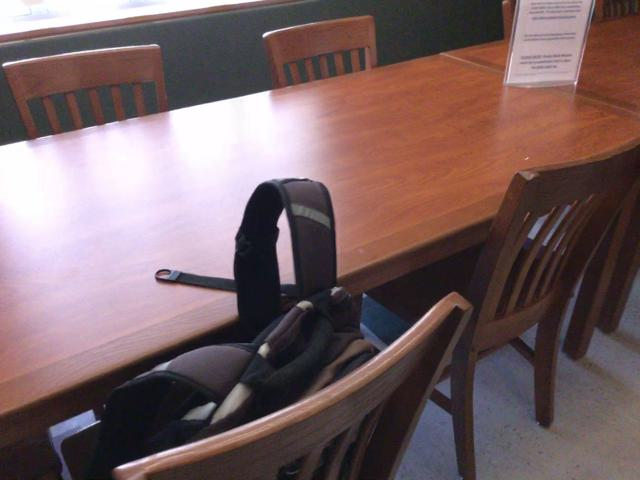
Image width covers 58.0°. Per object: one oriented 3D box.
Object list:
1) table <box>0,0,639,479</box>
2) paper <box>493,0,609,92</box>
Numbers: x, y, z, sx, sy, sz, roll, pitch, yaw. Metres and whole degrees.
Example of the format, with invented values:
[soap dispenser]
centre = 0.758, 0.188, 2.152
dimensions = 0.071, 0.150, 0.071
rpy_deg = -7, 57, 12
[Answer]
[table]
centre = 0.670, -0.170, 1.900
dimensions = 3.580, 0.900, 1.070
rpy_deg = -18, 35, -27
[paper]
centre = 0.670, -0.600, 1.690
dimensions = 0.250, 0.290, 0.120
rpy_deg = -5, 31, -8
